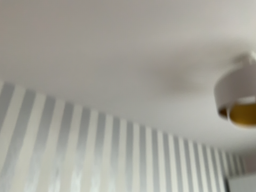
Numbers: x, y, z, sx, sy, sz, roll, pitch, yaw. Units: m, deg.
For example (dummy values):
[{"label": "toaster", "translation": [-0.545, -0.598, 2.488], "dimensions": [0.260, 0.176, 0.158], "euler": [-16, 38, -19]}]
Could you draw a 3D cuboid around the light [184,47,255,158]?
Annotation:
[{"label": "light", "translation": [0.840, -0.010, 1.470], "dimensions": [0.450, 0.540, 0.690], "euler": [59, 40, -4]}]
